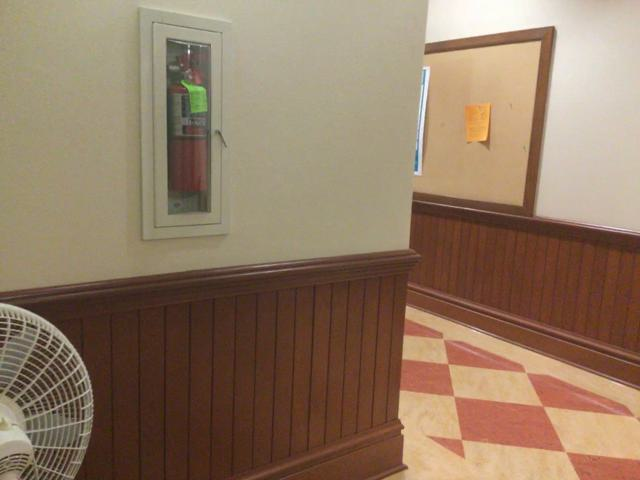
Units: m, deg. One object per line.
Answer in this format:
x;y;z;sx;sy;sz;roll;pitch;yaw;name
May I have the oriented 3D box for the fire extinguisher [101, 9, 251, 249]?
-0.420;-0.330;1.740;0.330;0.650;0.140;-13;14;-36;fire extinguisher
